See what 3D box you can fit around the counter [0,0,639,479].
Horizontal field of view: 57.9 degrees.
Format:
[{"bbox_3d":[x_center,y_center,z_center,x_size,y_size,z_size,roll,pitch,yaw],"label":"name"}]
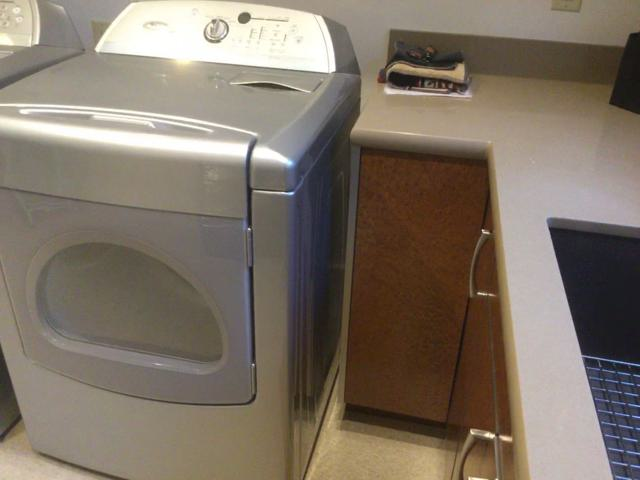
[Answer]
[{"bbox_3d":[0.090,0.060,0.550,1.510,0.260,2.580,9,30,9],"label":"counter"}]
